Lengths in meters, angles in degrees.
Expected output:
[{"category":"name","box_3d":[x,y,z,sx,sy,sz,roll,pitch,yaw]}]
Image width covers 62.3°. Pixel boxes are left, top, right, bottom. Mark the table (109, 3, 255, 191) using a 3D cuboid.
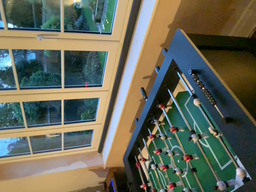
[{"category":"table","box_3d":[0.540,0.360,1.560,1.530,0.910,1.080,108,151,-43]}]
